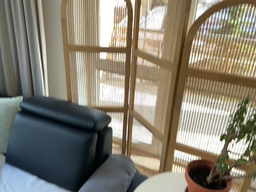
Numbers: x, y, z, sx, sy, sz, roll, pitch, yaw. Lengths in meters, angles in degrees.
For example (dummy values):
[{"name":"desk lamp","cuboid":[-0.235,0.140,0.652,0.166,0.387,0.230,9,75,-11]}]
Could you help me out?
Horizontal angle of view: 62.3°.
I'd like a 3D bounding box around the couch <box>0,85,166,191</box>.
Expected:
[{"name":"couch","cuboid":[-0.480,0.600,1.400,1.080,0.840,1.090,14,26,22]}]
